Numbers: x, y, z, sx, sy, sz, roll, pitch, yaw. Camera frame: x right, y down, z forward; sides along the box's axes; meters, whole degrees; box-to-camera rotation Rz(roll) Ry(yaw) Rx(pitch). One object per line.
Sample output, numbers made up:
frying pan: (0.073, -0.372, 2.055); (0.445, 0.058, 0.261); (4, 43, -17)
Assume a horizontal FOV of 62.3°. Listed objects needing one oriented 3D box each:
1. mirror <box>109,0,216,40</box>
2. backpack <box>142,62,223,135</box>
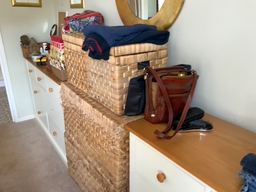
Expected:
mirror: (0.160, -0.730, 1.310); (0.170, 0.660, 0.780); (-15, 27, -34)
backpack: (0.260, -0.010, 1.050); (0.300, 0.240, 0.230); (-15, 27, -34)
